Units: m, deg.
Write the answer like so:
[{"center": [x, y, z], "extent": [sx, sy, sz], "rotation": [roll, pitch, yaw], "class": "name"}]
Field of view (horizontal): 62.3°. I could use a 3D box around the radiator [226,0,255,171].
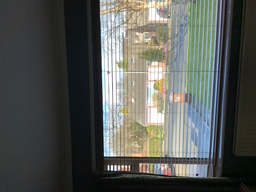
[{"center": [1.440, -0.300, 2.310], "extent": [0.150, 0.520, 2.290], "rotation": [-85, -5, -82], "class": "radiator"}]
